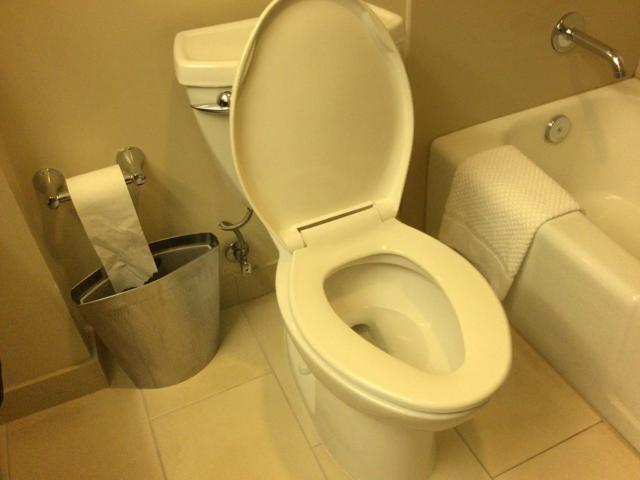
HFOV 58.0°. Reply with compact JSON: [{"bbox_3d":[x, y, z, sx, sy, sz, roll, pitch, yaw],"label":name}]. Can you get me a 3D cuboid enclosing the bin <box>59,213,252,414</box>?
[{"bbox_3d":[-0.370,0.170,1.350,0.330,0.330,0.190,-20,41,-16],"label":"bin"}]
